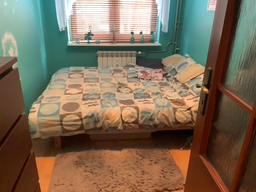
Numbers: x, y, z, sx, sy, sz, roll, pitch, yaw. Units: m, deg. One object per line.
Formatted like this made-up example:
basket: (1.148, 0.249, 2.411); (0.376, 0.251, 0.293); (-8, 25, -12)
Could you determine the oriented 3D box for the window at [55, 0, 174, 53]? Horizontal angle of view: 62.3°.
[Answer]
window: (-0.180, -1.570, 3.240); (1.790, 1.790, 0.190); (-1, 24, -6)
